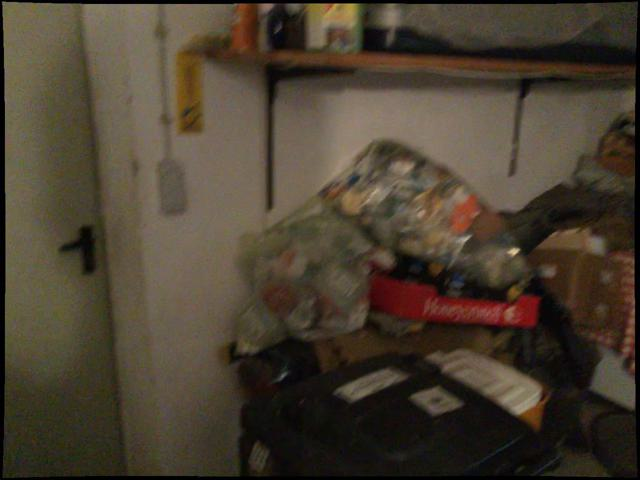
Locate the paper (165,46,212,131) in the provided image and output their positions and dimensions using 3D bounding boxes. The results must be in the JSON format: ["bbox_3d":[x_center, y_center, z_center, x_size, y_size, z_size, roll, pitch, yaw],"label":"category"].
[{"bbox_3d":[-0.380,-0.440,1.680,0.100,0.230,0.040,-15,24,-33],"label":"paper"}]
